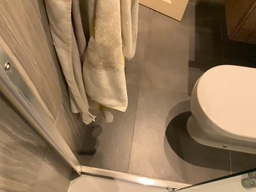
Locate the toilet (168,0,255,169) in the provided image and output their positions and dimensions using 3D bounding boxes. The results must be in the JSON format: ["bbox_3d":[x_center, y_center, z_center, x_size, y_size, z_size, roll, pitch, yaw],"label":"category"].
[{"bbox_3d":[0.620,0.040,1.000,0.650,0.780,0.410,10,63,-1],"label":"toilet"}]
